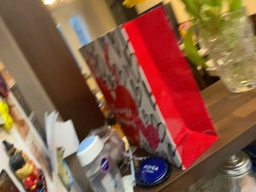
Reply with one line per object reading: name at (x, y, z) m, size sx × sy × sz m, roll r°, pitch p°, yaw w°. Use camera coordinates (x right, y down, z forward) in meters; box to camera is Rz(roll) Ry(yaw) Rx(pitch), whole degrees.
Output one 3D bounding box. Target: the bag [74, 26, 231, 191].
bag at (0.040, 0.030, 0.590) m, size 0.210 × 0.330 × 0.320 m, roll -29°, pitch 17°, yaw -13°
